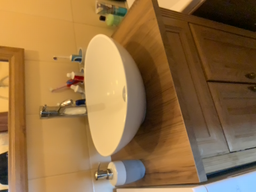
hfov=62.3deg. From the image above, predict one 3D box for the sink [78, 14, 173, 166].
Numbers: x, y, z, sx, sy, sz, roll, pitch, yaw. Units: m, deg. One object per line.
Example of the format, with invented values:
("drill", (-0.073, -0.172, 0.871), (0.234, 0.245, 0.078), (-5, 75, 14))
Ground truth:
("sink", (-0.050, 0.010, 0.770), (0.360, 0.130, 0.430), (-35, 59, 55))
